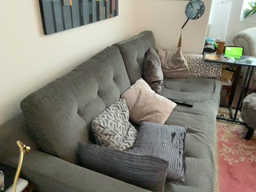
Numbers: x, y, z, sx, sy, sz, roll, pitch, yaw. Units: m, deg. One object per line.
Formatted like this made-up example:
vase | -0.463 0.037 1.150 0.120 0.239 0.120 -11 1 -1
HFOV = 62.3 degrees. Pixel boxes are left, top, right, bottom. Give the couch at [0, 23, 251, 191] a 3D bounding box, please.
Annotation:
couch | 0.190 0.080 1.720 0.990 0.920 2.000 11 30 18
